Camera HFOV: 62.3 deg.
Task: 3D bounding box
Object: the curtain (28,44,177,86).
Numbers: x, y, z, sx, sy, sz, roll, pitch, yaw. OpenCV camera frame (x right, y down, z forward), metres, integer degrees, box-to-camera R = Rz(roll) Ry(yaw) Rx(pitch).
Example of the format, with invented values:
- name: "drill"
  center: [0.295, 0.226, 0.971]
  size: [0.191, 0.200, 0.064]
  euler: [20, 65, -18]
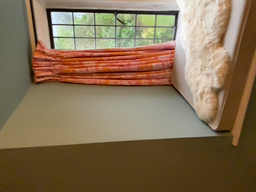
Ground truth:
- name: "curtain"
  center: [-0.190, -0.270, 1.840]
  size: [0.150, 1.200, 0.330]
  euler: [-115, 25, -71]
